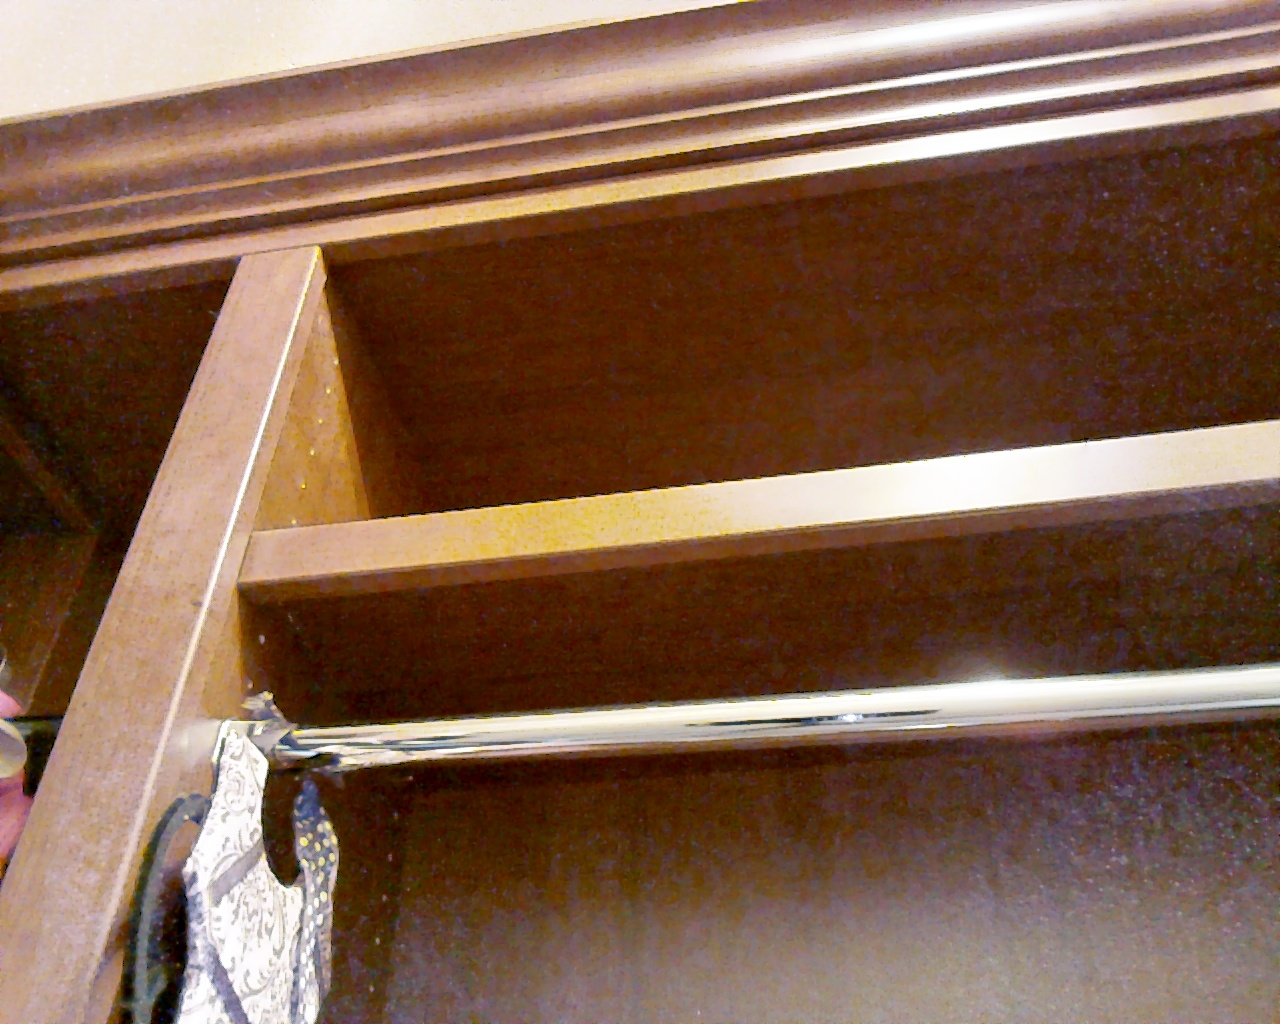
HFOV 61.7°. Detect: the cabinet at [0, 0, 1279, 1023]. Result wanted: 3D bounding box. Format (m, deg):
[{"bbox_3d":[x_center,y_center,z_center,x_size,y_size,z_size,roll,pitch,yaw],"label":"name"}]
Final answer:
[{"bbox_3d":[0.230,0.620,0.140,1.440,2.370,0.610,-6,-40,6],"label":"cabinet"}]
